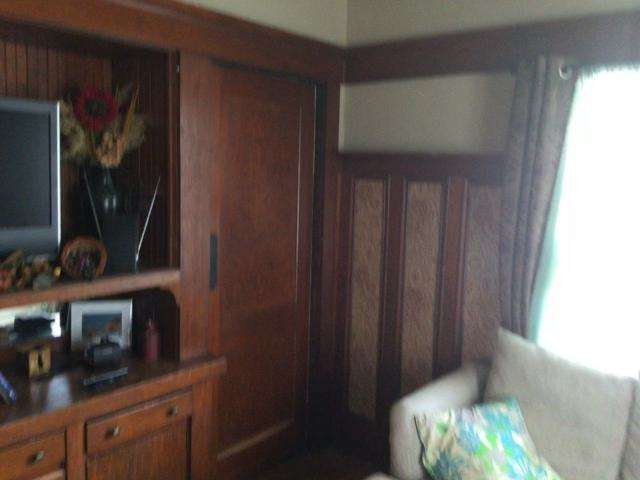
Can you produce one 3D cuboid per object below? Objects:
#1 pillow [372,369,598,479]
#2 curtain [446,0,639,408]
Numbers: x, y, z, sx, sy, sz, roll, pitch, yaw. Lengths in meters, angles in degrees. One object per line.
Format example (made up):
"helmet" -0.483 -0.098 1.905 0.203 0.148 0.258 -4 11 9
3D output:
"pillow" 0.600 0.760 2.170 0.500 0.360 0.610 4 2 -36
"curtain" 1.370 -0.130 2.020 1.700 1.450 0.350 6 2 37
